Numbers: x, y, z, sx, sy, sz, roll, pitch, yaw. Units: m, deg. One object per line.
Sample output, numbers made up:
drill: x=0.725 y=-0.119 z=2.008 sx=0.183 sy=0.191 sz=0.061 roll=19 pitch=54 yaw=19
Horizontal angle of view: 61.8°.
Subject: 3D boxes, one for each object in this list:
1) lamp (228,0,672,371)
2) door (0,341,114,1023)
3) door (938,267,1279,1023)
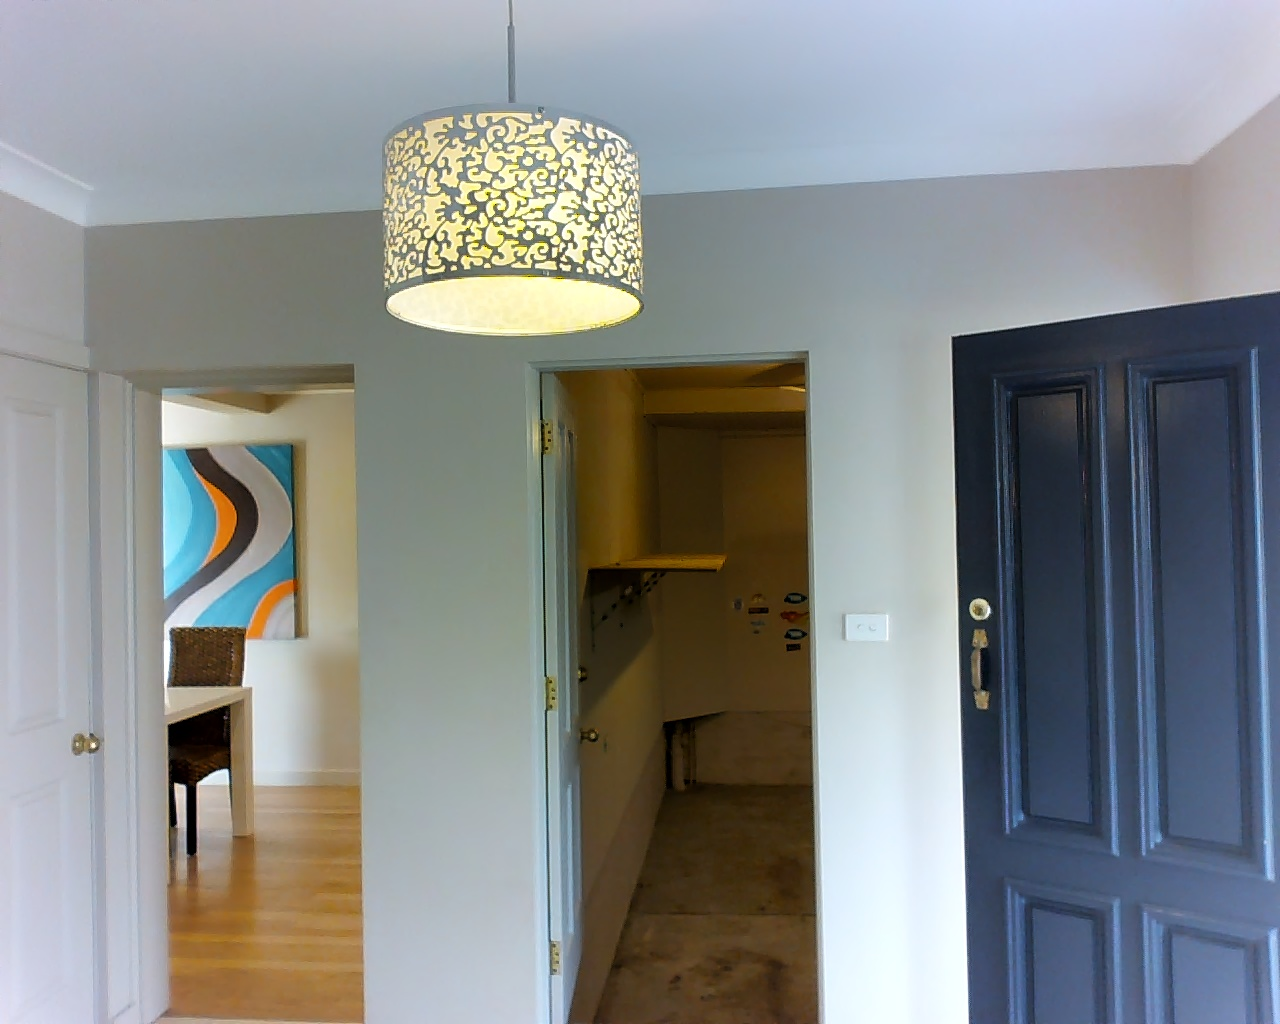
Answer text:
lamp: x=-0.220 y=-0.630 z=1.700 sx=0.490 sy=0.500 sz=0.700 roll=-1 pitch=-24 yaw=6
door: x=-1.680 y=0.590 z=2.810 sx=0.090 sy=2.061 sz=0.850 roll=-1 pitch=-1 yaw=6
door: x=1.190 y=0.520 z=2.570 sx=0.880 sy=2.081 sz=0.180 roll=-2 pitch=-1 yaw=39
